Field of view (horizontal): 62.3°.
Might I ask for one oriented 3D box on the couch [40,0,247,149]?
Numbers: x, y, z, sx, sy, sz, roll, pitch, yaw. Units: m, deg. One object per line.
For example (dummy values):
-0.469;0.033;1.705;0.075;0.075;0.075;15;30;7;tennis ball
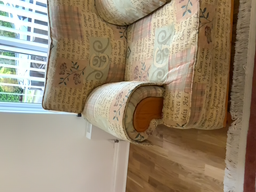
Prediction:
0.020;-0.320;1.420;1.010;0.880;1.040;5;90;58;couch
